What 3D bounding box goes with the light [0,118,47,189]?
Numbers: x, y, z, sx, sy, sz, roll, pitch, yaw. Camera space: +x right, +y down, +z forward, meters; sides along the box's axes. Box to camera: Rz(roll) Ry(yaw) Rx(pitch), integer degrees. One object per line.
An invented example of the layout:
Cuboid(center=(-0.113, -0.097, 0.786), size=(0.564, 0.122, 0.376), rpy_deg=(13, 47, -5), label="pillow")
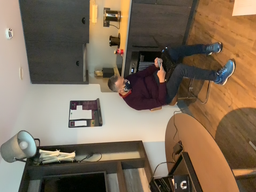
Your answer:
Cuboid(center=(-0.950, 0.460, 1.730), size=(0.350, 0.460, 0.430), rpy_deg=(-109, 23, -56), label="light")
